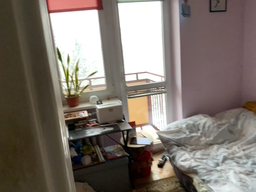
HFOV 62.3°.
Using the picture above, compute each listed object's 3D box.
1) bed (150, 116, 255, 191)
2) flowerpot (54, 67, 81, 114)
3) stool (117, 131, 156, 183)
[{"bbox_3d":[1.170,0.760,2.010,1.310,0.400,1.920,-8,13,-13],"label":"bed"},{"bbox_3d":[-0.690,-0.070,2.430,0.220,0.500,0.180,-9,13,-16],"label":"flowerpot"},{"bbox_3d":[0.100,0.720,2.570,0.350,0.420,0.360,-8,13,-14],"label":"stool"}]
